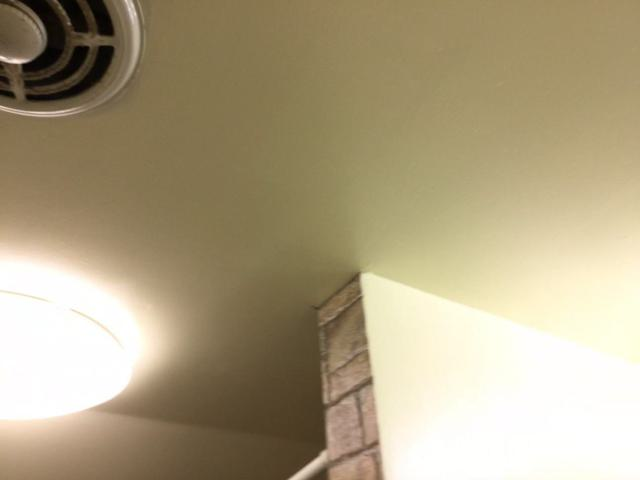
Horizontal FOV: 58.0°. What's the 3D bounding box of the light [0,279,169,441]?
[{"bbox_3d":[-0.580,0.230,1.080,0.470,0.110,0.360,18,-47,-29],"label":"light"}]
